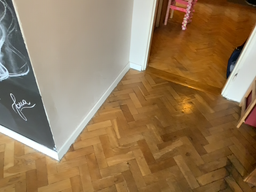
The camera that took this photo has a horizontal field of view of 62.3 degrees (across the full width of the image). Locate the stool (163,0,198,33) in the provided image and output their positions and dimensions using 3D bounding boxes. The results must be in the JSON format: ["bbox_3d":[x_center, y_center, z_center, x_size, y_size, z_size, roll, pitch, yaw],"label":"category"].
[{"bbox_3d":[0.810,-1.350,3.130,0.330,0.490,0.700,19,46,13],"label":"stool"}]
